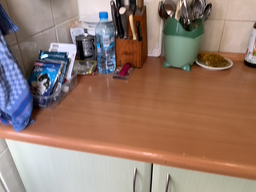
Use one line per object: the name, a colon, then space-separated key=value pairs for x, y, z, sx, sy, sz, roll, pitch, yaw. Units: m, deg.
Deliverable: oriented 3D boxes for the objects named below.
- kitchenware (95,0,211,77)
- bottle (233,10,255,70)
kitchenware: x=0.090 y=-0.290 z=0.770 sx=0.350 sy=0.350 sz=0.220 roll=6 pitch=32 yaw=10
bottle: x=0.490 y=-0.210 z=0.800 sx=0.110 sy=0.200 sz=0.090 roll=8 pitch=32 yaw=12
